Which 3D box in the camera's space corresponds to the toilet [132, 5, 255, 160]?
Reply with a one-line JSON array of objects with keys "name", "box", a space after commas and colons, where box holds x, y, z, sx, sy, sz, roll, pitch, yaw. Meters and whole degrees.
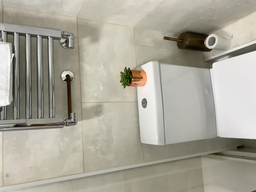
[{"name": "toilet", "box": [0.520, 0.000, 0.970, 0.610, 0.780, 0.390, -17, 76, 61]}]

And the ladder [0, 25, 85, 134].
[{"name": "ladder", "box": [-0.690, -0.060, 0.690, 0.040, 1.080, 0.410, -21, 72, 62]}]
